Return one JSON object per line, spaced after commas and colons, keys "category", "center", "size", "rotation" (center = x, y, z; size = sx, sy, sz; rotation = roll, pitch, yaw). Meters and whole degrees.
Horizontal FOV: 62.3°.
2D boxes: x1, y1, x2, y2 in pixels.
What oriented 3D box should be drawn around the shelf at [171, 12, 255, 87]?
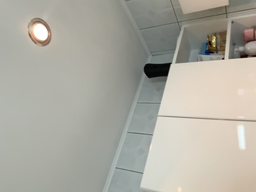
{"category": "shelf", "center": [0.620, -0.230, 1.030], "size": [0.200, 0.740, 0.290], "rotation": [54, -134, -45]}
